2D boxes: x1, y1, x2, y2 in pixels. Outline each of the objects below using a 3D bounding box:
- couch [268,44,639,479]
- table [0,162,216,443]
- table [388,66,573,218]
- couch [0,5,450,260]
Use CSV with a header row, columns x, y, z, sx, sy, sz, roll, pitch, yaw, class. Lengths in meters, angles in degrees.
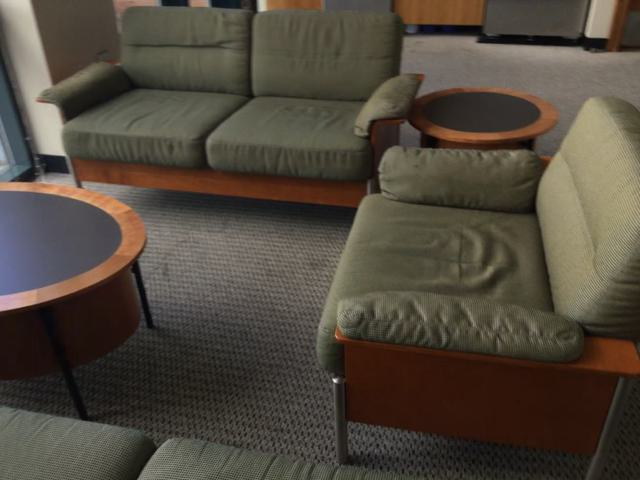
x,y,z,sx,sy,sz,roll,pitch,yaw,class
0.430,0.030,1.550,0.740,0.760,1.050,6,37,15,couch
-0.980,0.110,1.770,1.060,0.380,0.700,6,37,15,table
0.660,-0.440,2.420,0.640,0.340,0.640,6,37,15,table
-0.380,-0.540,2.560,1.760,0.750,0.780,6,37,15,couch
